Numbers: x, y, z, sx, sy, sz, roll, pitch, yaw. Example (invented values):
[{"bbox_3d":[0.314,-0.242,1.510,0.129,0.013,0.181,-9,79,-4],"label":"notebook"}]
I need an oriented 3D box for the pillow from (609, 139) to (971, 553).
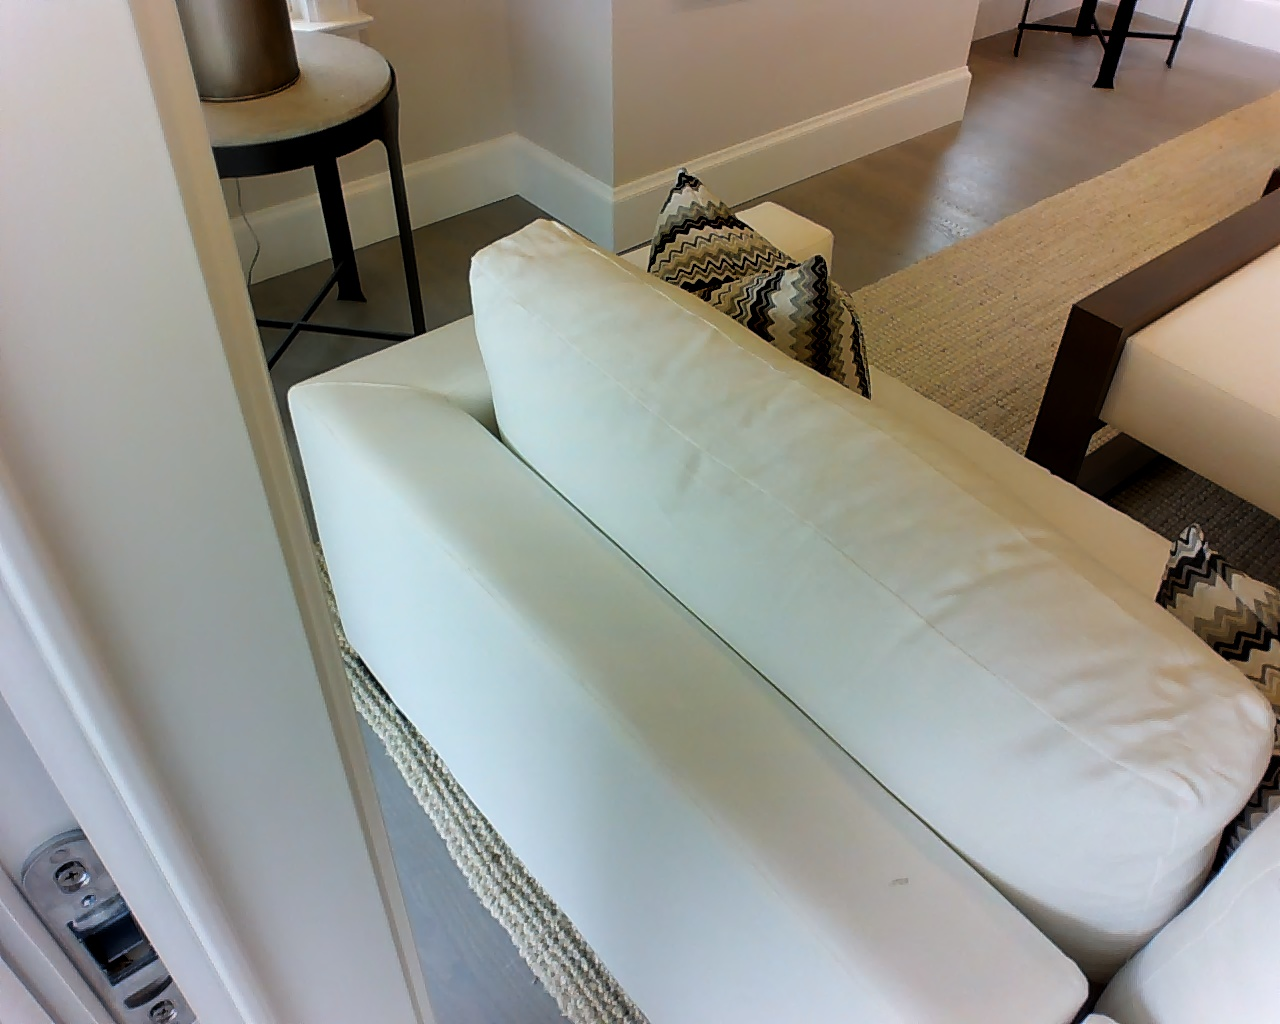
[{"bbox_3d":[0.190,-0.260,1.610,0.280,0.390,0.440,-23,47,-25],"label":"pillow"}]
